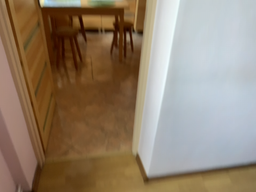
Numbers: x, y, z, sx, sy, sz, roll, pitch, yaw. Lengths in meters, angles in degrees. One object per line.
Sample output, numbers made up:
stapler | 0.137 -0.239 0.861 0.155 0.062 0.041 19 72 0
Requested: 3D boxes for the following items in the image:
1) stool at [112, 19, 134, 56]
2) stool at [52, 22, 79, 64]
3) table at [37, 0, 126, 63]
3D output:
stool | -0.090 -0.900 3.250 0.280 0.470 0.290 -3 37 -10
stool | -0.850 -0.730 2.930 0.290 0.480 0.280 -4 37 -11
table | -0.640 -0.990 3.100 1.070 0.720 0.710 -3 37 -10
